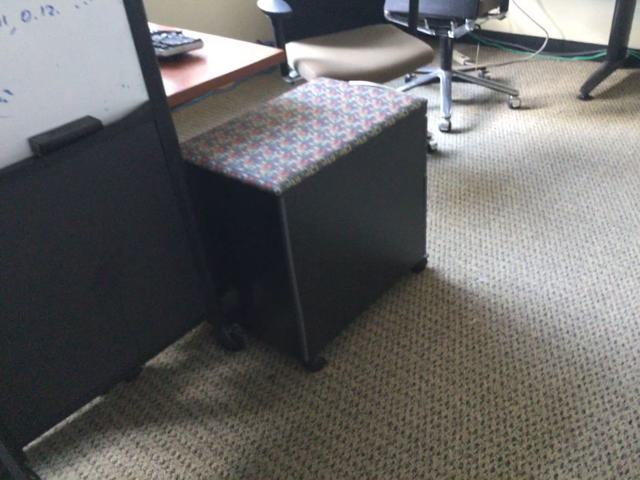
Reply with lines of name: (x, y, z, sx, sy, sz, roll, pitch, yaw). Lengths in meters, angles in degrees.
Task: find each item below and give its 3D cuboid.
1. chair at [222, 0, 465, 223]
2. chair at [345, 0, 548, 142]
chair: (0.080, -0.740, 2.220, 0.640, 1.010, 0.670, -23, 37, -20)
chair: (0.550, -1.080, 2.540, 0.700, 1.020, 0.540, 24, 46, 36)
